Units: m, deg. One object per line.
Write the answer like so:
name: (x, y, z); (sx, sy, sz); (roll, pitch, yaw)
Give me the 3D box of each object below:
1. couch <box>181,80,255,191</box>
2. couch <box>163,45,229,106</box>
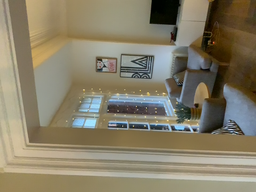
couch: (1.210, 0.420, 2.420); (0.980, 0.830, 0.890); (-92, 6, -67)
couch: (1.200, -0.430, 4.010); (0.950, 0.810, 0.840); (-92, 5, -65)
